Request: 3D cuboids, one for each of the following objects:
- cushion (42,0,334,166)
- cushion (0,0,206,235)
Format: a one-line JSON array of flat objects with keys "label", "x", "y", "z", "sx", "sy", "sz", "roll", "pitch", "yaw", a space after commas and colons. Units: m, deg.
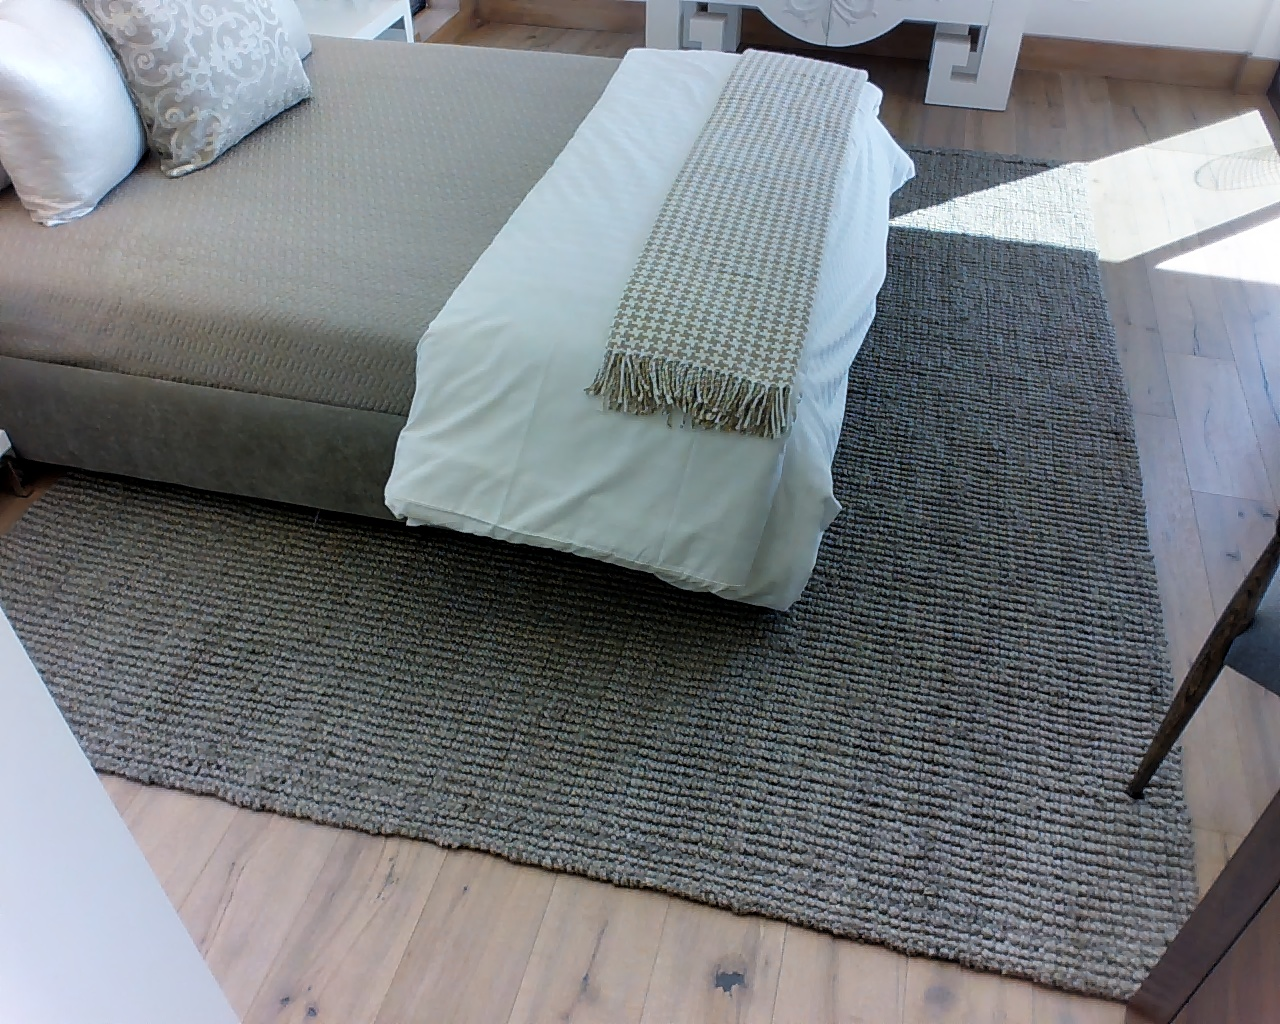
[{"label": "cushion", "x": -1.050, "y": -1.190, "z": 2.540, "sx": 0.330, "sy": 0.490, "sz": 0.580, "roll": 10, "pitch": 43, "yaw": 10}, {"label": "cushion", "x": -1.260, "y": -0.940, "z": 2.320, "sx": 0.260, "sy": 0.430, "sz": 0.560, "roll": 10, "pitch": 43, "yaw": 10}]
